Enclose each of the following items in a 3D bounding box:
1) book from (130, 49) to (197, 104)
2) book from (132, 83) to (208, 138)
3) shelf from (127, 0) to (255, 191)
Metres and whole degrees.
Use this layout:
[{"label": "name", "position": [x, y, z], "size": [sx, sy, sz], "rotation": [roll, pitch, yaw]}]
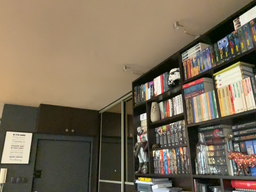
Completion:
[{"label": "book", "position": [0.320, -0.160, 2.200], "size": [0.210, 0.290, 0.780], "rotation": [10, -21, -30]}, {"label": "book", "position": [0.370, 0.190, 2.140], "size": [0.280, 0.350, 0.800], "rotation": [10, -21, -28]}, {"label": "shelf", "position": [1.110, 0.100, 0.790], "size": [0.320, 1.830, 3.870], "rotation": [10, -21, -29]}]
